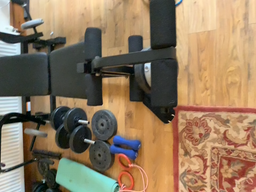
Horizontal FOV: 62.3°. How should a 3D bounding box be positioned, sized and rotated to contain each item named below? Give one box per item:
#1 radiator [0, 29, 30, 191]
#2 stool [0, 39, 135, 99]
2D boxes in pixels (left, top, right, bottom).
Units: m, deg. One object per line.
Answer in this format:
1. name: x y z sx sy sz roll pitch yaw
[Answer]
1. radiator: -1.230 0.300 1.840 0.170 0.640 1.760 1 93 34
2. stool: -0.490 -0.140 1.480 0.890 0.600 0.280 0 93 34
